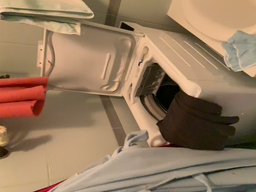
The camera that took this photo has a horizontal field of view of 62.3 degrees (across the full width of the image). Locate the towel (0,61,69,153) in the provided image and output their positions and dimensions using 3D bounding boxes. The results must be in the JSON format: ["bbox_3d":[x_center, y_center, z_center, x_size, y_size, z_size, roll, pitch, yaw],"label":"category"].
[{"bbox_3d":[-0.580,0.030,0.910,0.380,0.560,0.200,60,140,45],"label":"towel"}]
